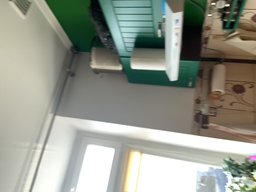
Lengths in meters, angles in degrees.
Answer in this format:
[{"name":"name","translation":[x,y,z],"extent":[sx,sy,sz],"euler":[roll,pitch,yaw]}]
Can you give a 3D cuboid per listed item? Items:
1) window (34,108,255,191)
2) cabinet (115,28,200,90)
[{"name":"window","translation":[0.250,0.980,1.860],"extent":[0.330,2.190,1.520],"euler":[74,-154,-58]},{"name":"cabinet","translation":[0.250,-0.300,1.760],"extent":[0.390,0.600,0.300],"euler":[67,-149,-64]}]
